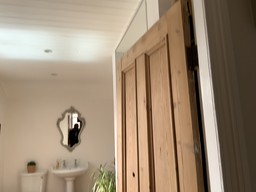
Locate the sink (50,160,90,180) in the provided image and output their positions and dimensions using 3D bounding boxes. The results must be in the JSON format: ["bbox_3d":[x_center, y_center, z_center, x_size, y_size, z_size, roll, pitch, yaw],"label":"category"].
[{"bbox_3d":[-1.010,1.280,3.710,0.630,0.200,0.490,0,-10,-14],"label":"sink"}]

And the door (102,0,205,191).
[{"bbox_3d":[0.080,0.570,1.140,0.080,2.070,0.790,3,-11,-30],"label":"door"}]

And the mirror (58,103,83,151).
[{"bbox_3d":[-1.100,0.580,4.090,0.450,0.880,0.130,0,-10,-17],"label":"mirror"}]
